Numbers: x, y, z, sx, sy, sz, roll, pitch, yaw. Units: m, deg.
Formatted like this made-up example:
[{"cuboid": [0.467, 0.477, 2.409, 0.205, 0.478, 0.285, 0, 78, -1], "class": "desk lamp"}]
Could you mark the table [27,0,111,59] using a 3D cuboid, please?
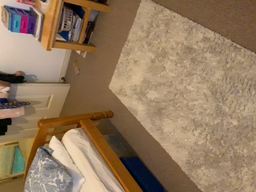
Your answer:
[{"cuboid": [-0.580, -0.730, 2.010, 0.540, 0.490, 0.530, 44, 123, 36], "class": "table"}]
